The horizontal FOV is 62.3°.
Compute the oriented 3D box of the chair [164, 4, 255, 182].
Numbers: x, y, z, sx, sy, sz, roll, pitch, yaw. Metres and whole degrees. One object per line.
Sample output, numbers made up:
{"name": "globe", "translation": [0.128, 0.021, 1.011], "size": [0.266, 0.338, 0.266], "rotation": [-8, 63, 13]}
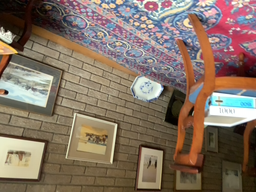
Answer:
{"name": "chair", "translation": [0.570, 0.010, 1.270], "size": [0.540, 0.880, 0.450], "rotation": [8, 165, 0]}
